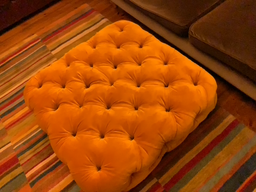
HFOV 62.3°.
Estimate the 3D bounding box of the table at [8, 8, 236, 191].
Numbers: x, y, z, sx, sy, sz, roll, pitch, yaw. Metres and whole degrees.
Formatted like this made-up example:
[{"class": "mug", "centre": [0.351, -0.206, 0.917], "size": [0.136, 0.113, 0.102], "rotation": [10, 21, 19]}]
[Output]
[{"class": "table", "centre": [-0.060, 0.020, 1.230], "size": [0.840, 0.360, 0.840], "rotation": [-39, 59, -14]}]
